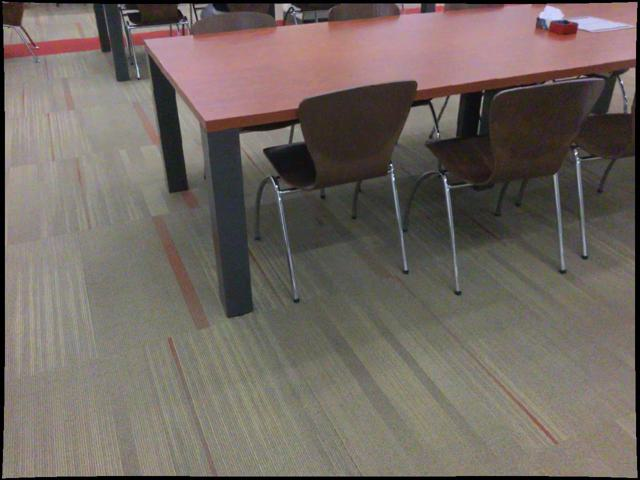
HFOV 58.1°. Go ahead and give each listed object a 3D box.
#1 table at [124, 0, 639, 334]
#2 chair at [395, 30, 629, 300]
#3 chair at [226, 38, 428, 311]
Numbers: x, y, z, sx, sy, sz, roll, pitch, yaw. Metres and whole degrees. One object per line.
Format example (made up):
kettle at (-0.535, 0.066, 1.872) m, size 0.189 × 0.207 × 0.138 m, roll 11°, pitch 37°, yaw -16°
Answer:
table at (0.758, -0.702, 2.940) m, size 3.064 × 0.801 × 1.380 m, roll -15°, pitch 34°, yaw -20°
chair at (0.688, -0.321, 2.300) m, size 0.519 × 0.822 × 0.610 m, roll -12°, pitch 34°, yaw -16°
chair at (0.010, -0.291, 2.300) m, size 0.499 × 0.812 × 0.640 m, roll -16°, pitch 35°, yaw -21°
